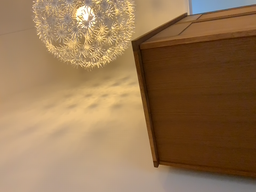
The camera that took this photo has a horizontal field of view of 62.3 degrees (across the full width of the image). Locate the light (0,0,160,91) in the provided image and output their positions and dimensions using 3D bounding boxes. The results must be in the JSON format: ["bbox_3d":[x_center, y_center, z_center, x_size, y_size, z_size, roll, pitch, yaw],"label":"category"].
[{"bbox_3d":[-0.870,-0.740,2.280,1.100,2.110,0.900,52,-136,-53],"label":"light"}]
